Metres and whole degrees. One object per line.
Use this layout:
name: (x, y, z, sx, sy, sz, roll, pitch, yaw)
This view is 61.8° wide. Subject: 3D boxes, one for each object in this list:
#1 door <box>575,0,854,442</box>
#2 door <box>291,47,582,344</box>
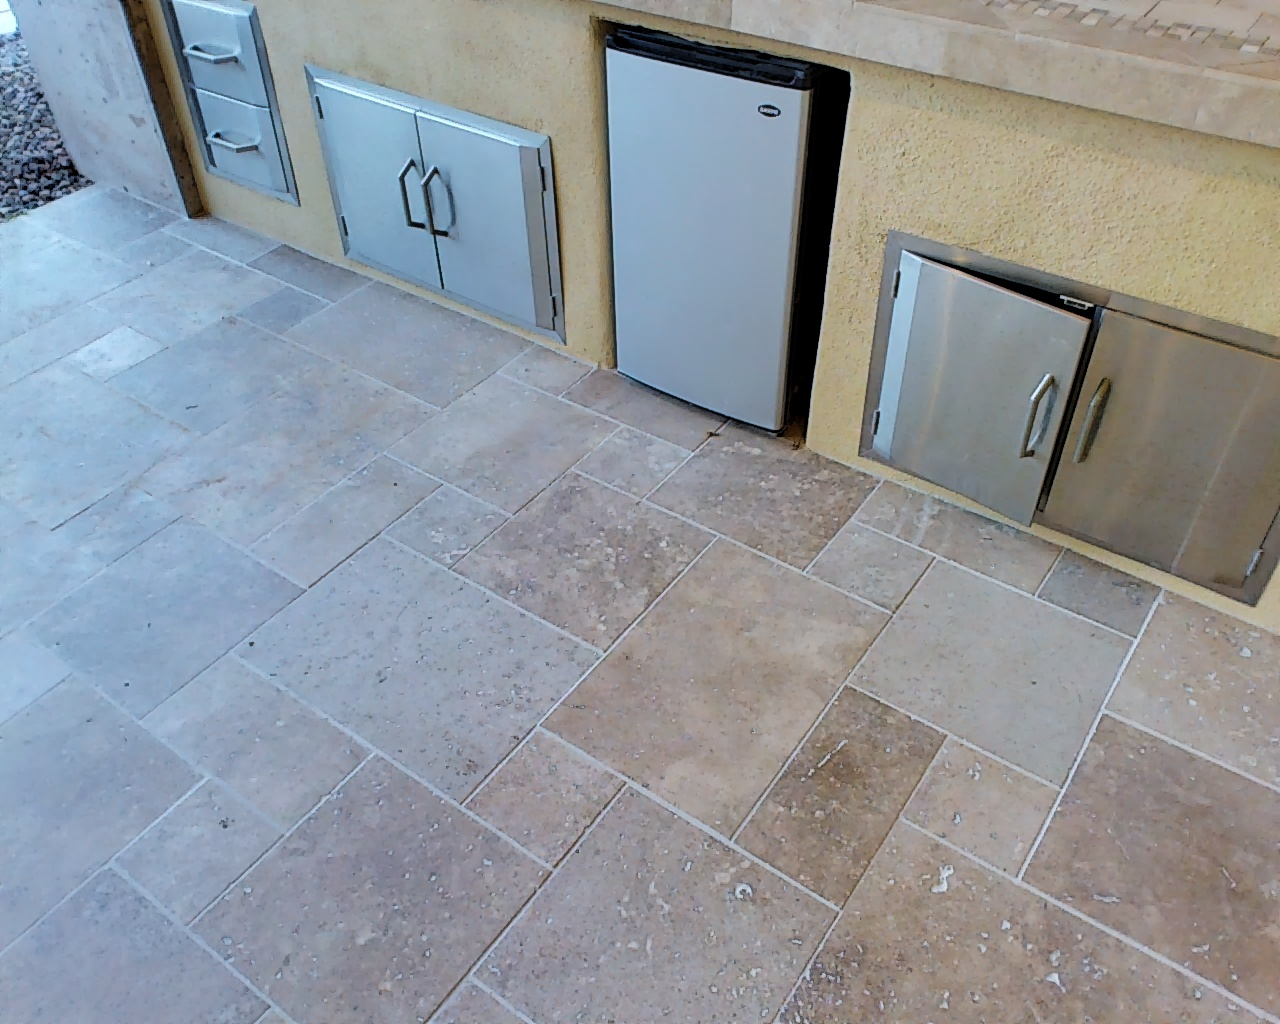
door: (0.140, -0.620, 2.310, 0.550, 0.900, 0.100, 24, 49, 25)
door: (-0.530, -0.830, 2.770, 0.880, 0.560, 0.090, 27, 51, 32)
